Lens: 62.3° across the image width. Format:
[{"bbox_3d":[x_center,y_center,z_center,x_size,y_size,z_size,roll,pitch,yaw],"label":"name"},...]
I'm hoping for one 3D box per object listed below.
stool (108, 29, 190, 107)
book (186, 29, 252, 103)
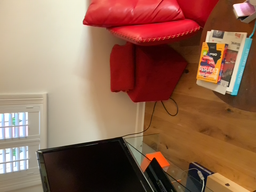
[{"bbox_3d":[0.160,-0.250,1.960,0.480,0.430,0.490,58,137,38],"label":"stool"},{"bbox_3d":[0.460,-0.160,1.120,0.290,0.080,0.340,18,107,56],"label":"book"}]
